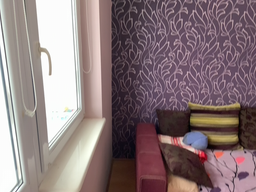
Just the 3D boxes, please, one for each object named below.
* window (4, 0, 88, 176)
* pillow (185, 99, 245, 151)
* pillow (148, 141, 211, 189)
[{"bbox_3d":[-0.420,-0.350,1.250,0.170,1.390,0.700,1,16,2],"label":"window"},{"bbox_3d":[0.960,0.320,2.380,0.460,0.440,0.170,17,13,-5],"label":"pillow"},{"bbox_3d":[0.420,0.590,1.880,0.440,0.180,0.470,0,16,-1],"label":"pillow"}]
